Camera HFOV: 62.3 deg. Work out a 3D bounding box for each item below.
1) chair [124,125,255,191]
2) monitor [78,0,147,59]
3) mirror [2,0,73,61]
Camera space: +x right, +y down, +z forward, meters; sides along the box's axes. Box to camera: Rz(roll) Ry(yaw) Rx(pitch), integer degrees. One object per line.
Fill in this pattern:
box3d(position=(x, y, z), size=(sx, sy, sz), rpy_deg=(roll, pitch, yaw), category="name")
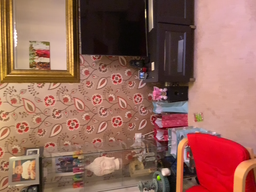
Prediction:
box3d(position=(0.530, 0.710, 1.540), size=(0.730, 0.940, 0.820), rpy_deg=(-171, 81, -71), category="chair")
box3d(position=(-0.150, -1.070, 2.250), size=(0.070, 0.730, 1.310), rpy_deg=(180, 89, -72), category="monitor")
box3d(position=(-0.940, -1.130, 2.230), size=(0.110, 0.670, 1.490), rpy_deg=(-178, 87, -71), category="mirror")
